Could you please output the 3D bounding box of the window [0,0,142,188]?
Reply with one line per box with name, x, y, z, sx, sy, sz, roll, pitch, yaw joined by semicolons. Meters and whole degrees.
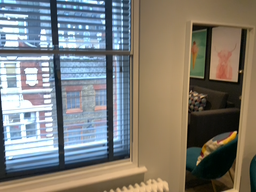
window;-0.490;-0.240;1.470;1.200;1.630;0.170;-4;10;-20
